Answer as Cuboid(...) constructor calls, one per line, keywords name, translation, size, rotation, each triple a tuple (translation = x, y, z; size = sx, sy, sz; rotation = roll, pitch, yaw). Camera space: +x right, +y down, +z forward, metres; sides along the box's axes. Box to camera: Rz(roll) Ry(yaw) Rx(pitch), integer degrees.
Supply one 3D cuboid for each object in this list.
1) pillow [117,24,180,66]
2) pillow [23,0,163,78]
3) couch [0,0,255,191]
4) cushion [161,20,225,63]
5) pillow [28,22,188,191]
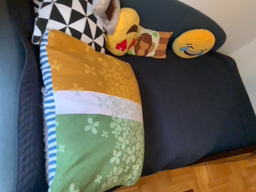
Cuboid(name="pillow", translation=(0.150, -0.350, 1.530), size=(0.380, 0.210, 0.150), rotation=(1, 67, -33))
Cuboid(name="pillow", translation=(-0.210, -0.360, 1.140), size=(0.590, 0.430, 0.320), rotation=(3, 66, -32))
Cuboid(name="couch", translation=(0.240, 0.050, 1.530), size=(2.140, 0.850, 1.030), rotation=(0, 68, -33))
Cuboid(name="cushion", translation=(0.520, -0.420, 1.720), size=(0.370, 0.300, 0.160), rotation=(-2, 69, -34))
Cuboid(name="pillow", translation=(-0.110, 0.100, 0.940), size=(0.540, 0.310, 0.640), rotation=(7, 64, -31))
